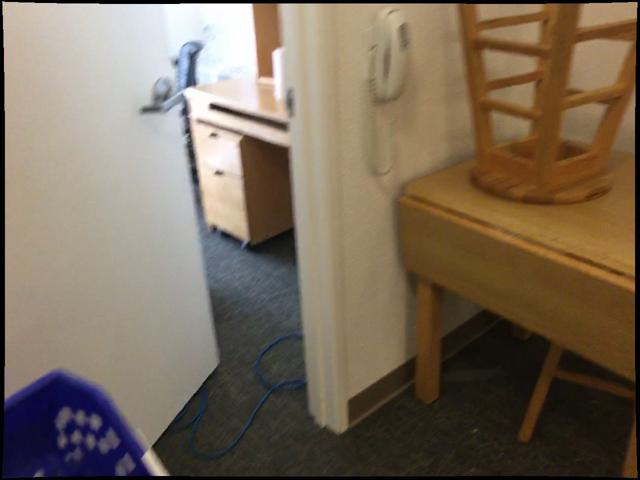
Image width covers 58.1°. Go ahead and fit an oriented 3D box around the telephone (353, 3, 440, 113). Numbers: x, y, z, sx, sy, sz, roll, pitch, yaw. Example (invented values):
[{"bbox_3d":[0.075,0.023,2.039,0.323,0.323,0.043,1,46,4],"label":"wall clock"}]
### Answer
[{"bbox_3d":[0.190,-0.451,1.420,0.170,0.220,0.120,-24,34,-32],"label":"telephone"}]
